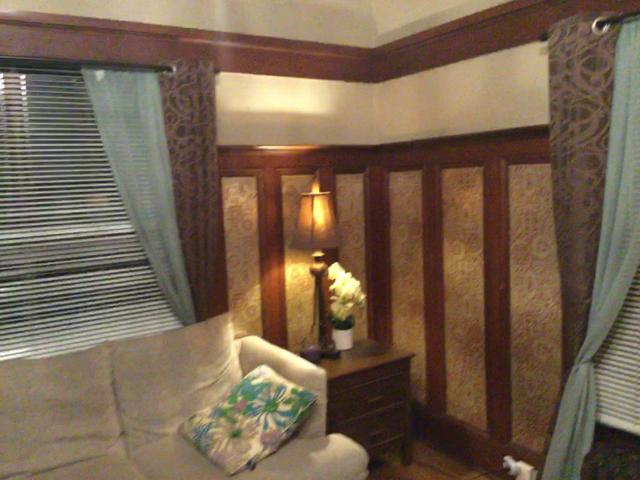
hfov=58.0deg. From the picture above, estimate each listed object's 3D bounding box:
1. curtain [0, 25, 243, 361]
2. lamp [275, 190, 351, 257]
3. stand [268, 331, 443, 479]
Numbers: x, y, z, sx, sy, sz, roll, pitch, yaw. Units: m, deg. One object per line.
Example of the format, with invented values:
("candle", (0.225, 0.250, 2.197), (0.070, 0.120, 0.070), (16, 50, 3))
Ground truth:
("curtain", (-1.210, -0.180, 2.330), (1.800, 1.270, 0.240), (-3, 1, -32))
("lamp", (-0.040, -0.080, 2.880), (0.230, 0.310, 0.330), (-3, 1, -32))
("stand", (0.180, 0.870, 2.990), (0.710, 0.640, 0.530), (-3, 1, -32))
